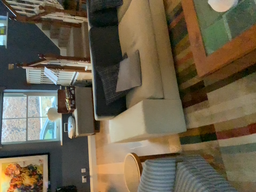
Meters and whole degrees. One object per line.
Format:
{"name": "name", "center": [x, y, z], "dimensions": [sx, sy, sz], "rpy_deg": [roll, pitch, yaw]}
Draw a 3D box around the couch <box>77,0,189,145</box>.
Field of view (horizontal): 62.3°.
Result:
{"name": "couch", "center": [-0.160, -1.120, 2.780], "dimensions": [1.110, 0.760, 3.320], "rpy_deg": [145, 122, -61]}
